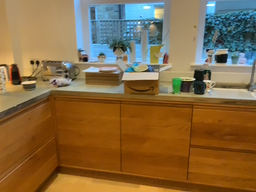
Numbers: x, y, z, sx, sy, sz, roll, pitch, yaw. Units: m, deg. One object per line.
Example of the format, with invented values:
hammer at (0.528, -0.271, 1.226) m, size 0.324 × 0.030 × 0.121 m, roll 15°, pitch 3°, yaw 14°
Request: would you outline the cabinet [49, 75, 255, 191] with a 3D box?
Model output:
cabinet at (0.840, 0.380, 2.110) m, size 3.070 × 0.930 × 0.680 m, roll 4°, pitch 16°, yaw 11°
